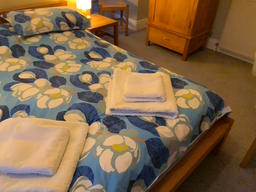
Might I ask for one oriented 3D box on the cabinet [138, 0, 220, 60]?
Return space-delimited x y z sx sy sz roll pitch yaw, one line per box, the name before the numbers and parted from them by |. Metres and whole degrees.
cabinet | 0.720 -1.530 2.590 0.750 1.900 0.690 33 46 32
